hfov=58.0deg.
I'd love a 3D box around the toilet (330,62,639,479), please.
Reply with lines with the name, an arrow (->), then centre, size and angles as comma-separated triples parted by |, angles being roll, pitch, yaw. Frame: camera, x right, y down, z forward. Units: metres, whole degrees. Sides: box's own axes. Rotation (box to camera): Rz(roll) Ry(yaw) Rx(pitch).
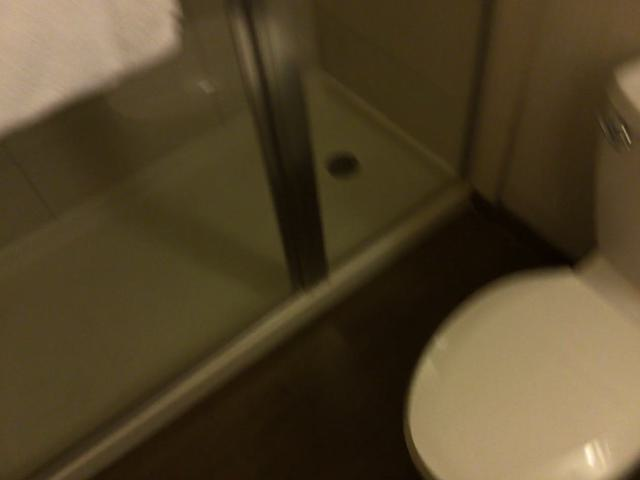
toilet -> 0.470, 0.190, 1.050 | 0.750, 0.700, 0.440 | -33, 58, -18
